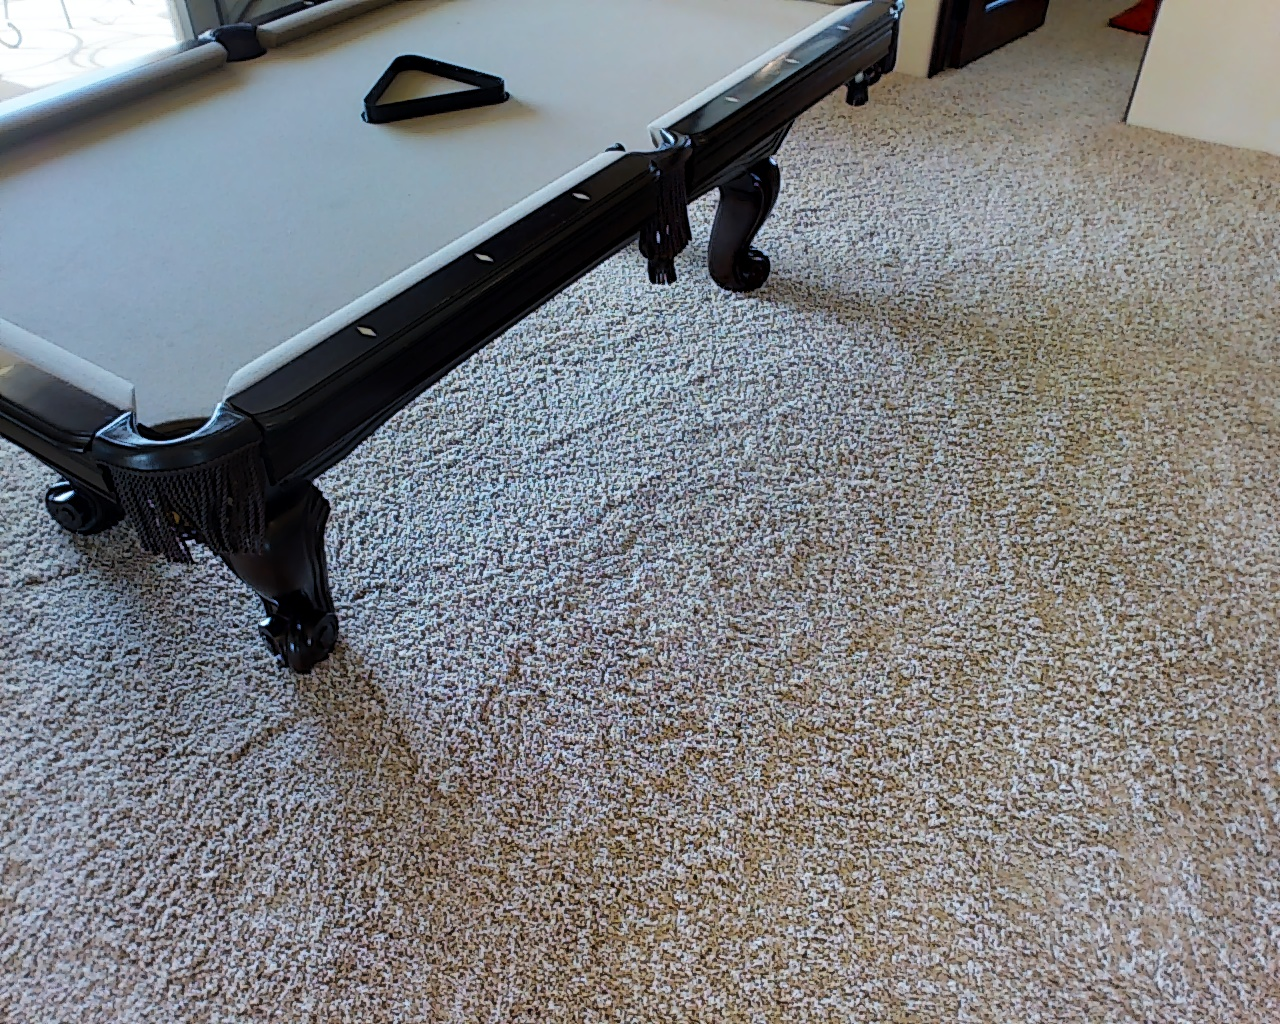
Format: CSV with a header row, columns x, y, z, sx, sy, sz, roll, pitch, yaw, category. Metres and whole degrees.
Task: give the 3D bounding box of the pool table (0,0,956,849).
x,y,z,sx,sy,sz,roll,pitch,yaw,category
-0.440,-0.650,2.440,1.350,0.740,2.350,25,48,25,pool table
